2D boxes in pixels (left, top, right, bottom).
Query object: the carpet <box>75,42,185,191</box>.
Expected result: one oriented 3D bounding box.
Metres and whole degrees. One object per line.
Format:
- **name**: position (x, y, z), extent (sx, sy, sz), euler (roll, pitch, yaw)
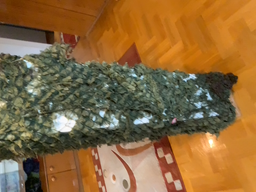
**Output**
- **carpet**: position (-0.110, 0.750, 2.530), extent (1.660, 0.040, 2.150), euler (-39, 60, 46)
